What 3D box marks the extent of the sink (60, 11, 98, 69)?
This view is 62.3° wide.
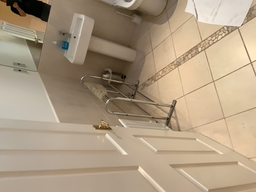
[{"bbox_3d":[-0.580,-0.650,2.440,0.440,0.180,0.550,41,115,52],"label":"sink"}]
